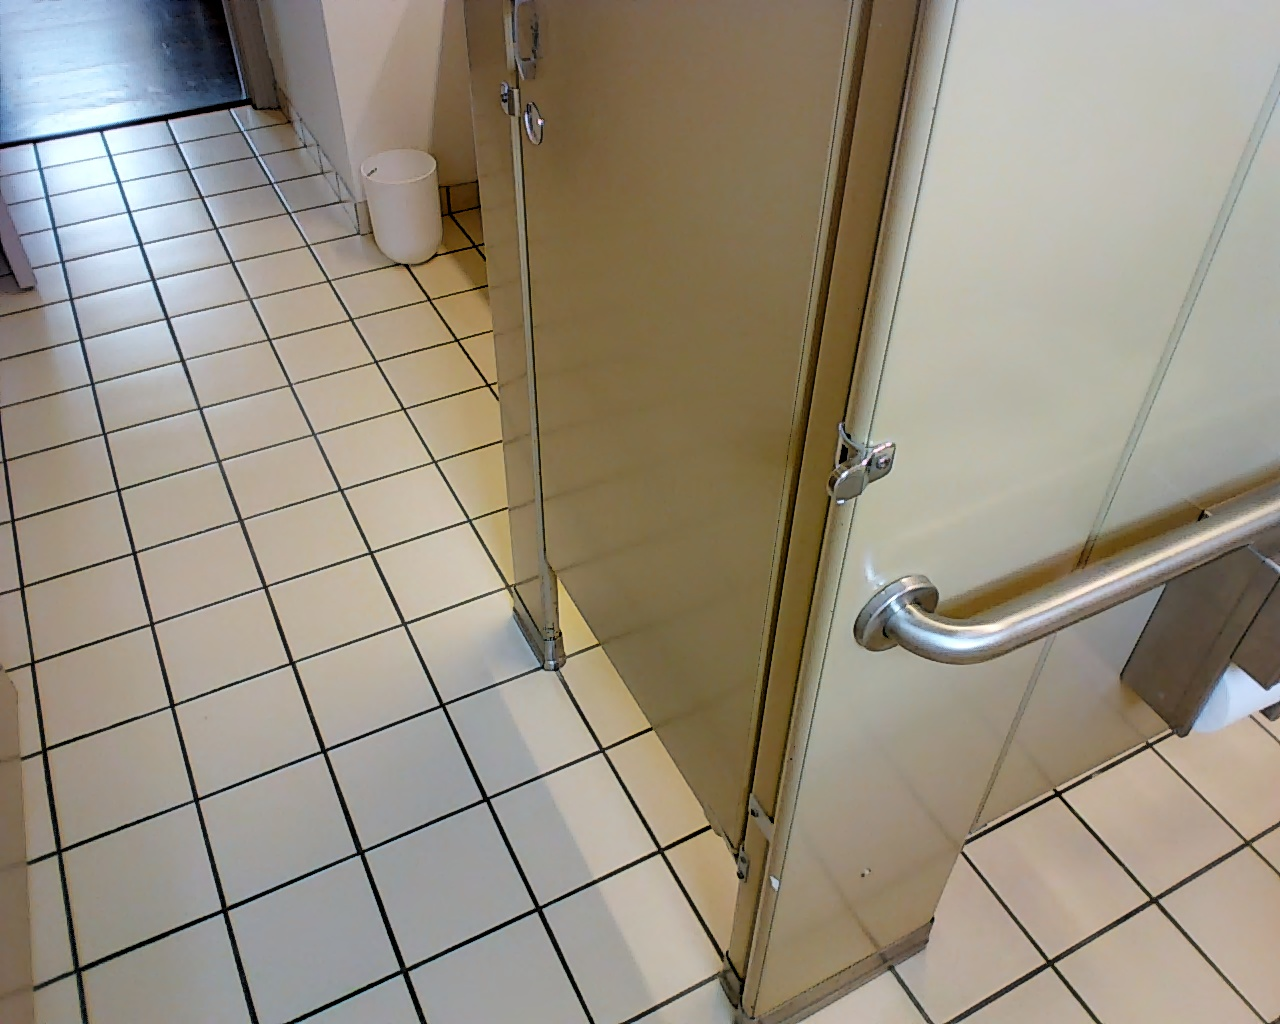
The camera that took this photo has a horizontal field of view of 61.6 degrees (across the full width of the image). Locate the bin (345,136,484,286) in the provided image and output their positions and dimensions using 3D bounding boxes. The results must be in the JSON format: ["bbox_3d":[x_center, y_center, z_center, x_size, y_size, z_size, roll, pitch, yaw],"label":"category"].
[{"bbox_3d":[-0.610,-0.820,2.920,0.270,0.260,0.260,-19,47,-21],"label":"bin"}]
